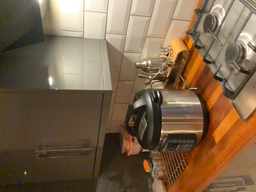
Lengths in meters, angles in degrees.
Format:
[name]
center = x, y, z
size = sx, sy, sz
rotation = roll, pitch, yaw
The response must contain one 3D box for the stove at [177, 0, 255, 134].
[stove]
center = 0.360, -0.300, 0.670
size = 0.630, 0.030, 0.570
rotation = 104, 161, -45
